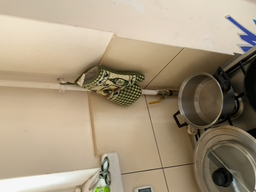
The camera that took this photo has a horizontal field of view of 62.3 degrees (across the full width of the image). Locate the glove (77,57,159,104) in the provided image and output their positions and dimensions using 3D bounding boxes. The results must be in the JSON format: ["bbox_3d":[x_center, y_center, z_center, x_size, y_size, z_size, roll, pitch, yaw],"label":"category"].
[{"bbox_3d":[-0.040,-0.050,0.790,0.110,0.270,0.120,-43,51,54],"label":"glove"}]

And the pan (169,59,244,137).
[{"bbox_3d":[0.270,0.020,0.790,0.250,0.050,0.210,-42,51,55],"label":"pan"}]
